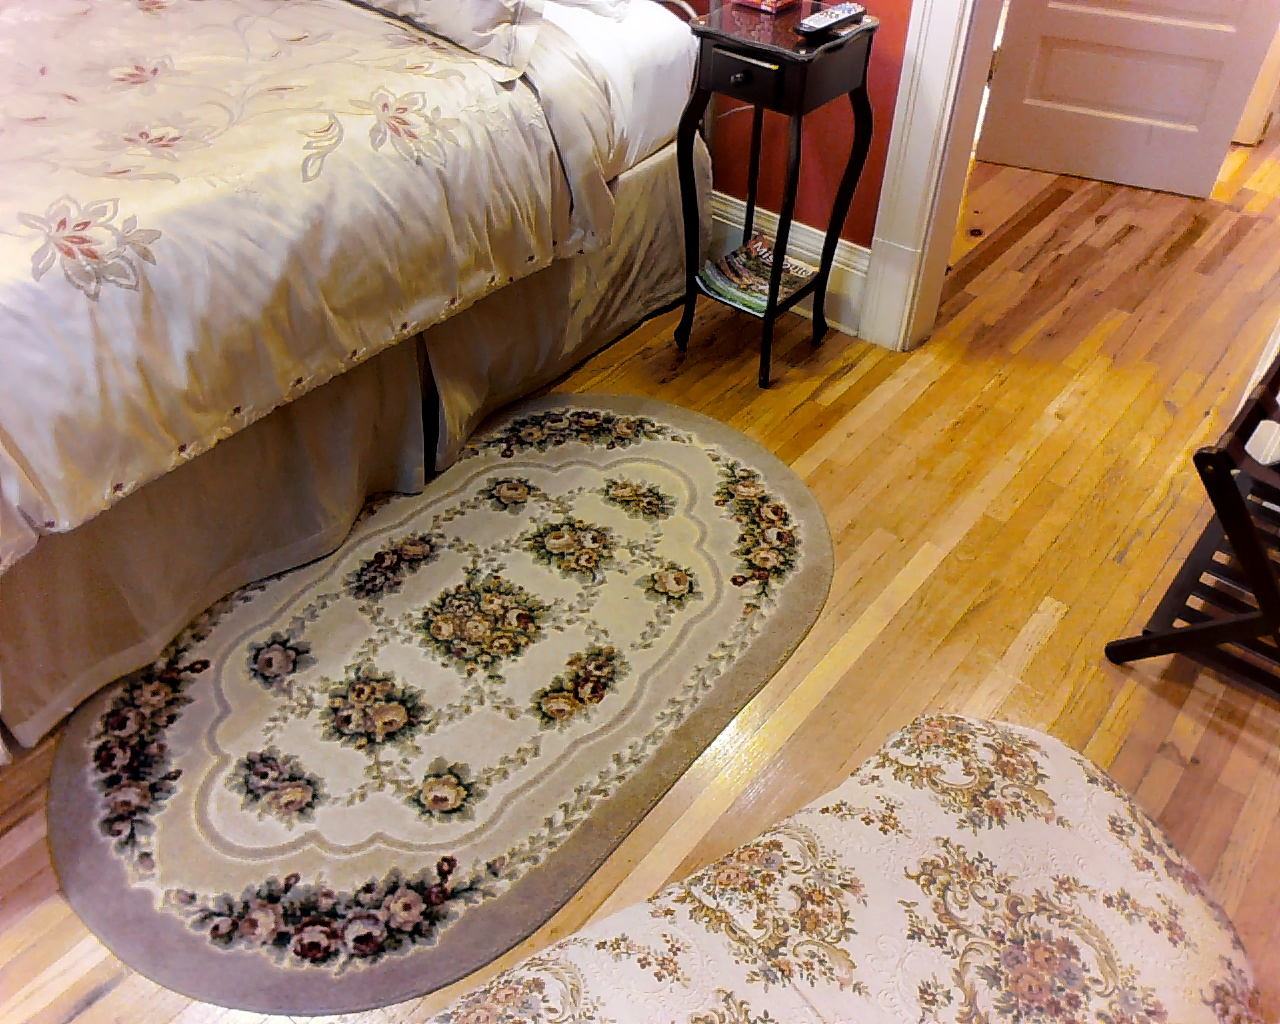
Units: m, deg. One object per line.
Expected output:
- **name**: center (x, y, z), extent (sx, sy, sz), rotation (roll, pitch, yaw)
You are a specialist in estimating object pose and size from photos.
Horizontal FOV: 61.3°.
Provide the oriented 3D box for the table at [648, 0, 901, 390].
- **table**: center (0.290, -0.770, 2.570), extent (0.380, 0.790, 0.380), rotation (32, 52, 29)
